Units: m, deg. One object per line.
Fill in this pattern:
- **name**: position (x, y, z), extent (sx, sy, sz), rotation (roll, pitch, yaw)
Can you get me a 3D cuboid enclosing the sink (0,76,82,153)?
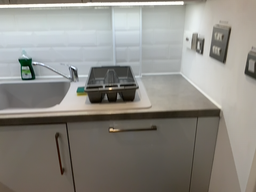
- **sink**: position (-0.580, 0.070, 1.180), extent (0.550, 0.210, 0.510), rotation (-2, 22, -3)
